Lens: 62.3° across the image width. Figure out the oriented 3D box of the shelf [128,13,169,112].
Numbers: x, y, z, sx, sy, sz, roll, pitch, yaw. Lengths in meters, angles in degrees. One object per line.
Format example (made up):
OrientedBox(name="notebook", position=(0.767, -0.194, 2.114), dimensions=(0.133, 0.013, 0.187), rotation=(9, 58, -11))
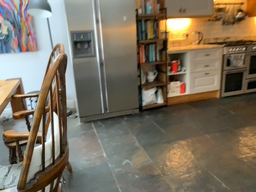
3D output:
OrientedBox(name="shelf", position=(0.320, -0.520, 3.320), dimensions=(0.470, 1.420, 0.390), rotation=(-9, 19, -18))
